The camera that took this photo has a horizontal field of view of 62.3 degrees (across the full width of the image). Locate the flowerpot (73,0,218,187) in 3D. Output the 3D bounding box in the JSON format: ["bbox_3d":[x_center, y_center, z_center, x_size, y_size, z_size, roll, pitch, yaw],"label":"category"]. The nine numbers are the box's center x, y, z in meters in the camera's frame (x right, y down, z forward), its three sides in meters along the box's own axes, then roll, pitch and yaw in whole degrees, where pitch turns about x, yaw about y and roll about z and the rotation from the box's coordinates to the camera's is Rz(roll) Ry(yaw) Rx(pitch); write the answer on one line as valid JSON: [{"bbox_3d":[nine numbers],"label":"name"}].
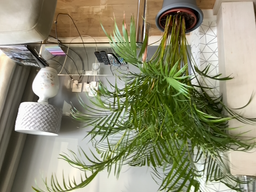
[{"bbox_3d":[0.140,-0.180,1.400,0.650,1.330,0.550,2,164,7],"label":"flowerpot"}]
